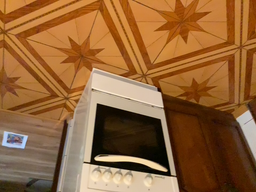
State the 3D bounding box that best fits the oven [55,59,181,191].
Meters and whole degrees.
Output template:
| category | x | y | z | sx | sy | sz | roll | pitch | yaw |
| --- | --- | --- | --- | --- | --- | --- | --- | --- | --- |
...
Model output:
| category | x | y | z | sx | sy | sz | roll | pitch | yaw |
| --- | --- | --- | --- | --- | --- | --- | --- | --- | --- |
| oven | -0.110 | 0.280 | 1.460 | 0.540 | 0.700 | 0.620 | 16 | 137 | -21 |
